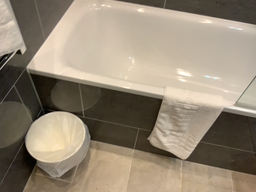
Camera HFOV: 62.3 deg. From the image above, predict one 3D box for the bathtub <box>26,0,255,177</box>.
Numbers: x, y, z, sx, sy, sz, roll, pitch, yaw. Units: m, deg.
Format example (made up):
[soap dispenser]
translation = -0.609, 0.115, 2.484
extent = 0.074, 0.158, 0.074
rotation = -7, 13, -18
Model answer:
[bathtub]
translation = 0.420, -0.030, 1.300
extent = 1.670, 0.560, 0.680
rotation = 11, 51, 3

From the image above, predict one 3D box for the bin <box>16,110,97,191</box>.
[bin]
translation = -0.340, 0.290, 1.120
extent = 0.280, 0.260, 0.290
rotation = 11, 51, 3
